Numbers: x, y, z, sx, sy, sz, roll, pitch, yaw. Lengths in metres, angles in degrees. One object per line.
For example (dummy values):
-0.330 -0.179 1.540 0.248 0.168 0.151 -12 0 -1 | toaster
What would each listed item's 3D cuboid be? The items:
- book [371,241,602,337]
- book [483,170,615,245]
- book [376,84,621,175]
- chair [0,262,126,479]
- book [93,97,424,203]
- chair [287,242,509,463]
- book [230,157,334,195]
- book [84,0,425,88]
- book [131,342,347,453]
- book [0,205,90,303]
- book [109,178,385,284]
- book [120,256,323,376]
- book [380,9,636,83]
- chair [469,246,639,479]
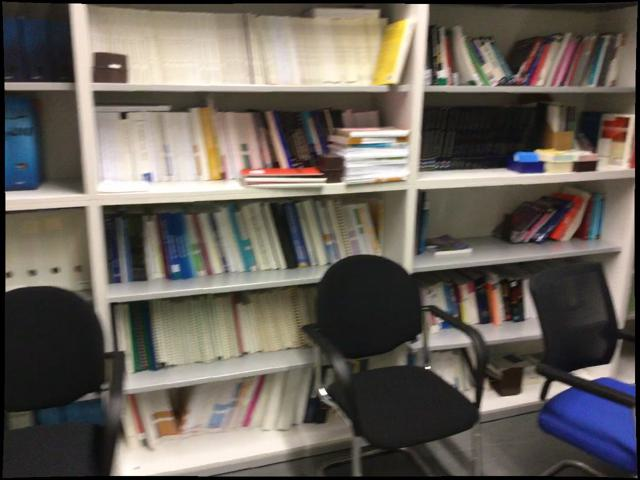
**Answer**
0.819 0.220 2.850 1.099 0.270 0.290 -5 17 -17 | book
1.119 -0.170 2.850 0.510 0.280 0.290 -5 17 -17 | book
0.769 -0.511 2.560 0.939 0.330 0.420 -5 17 -17 | book
-0.889 0.440 1.770 0.520 0.490 0.750 -5 17 -17 | chair
-0.230 -0.380 2.260 1.179 0.310 0.420 -5 17 -17 | book
0.230 0.350 2.120 0.540 0.470 0.690 -5 17 -17 | chair
-0.150 -0.250 2.220 0.350 0.090 0.230 -5 17 -17 | book
-0.240 -0.761 2.180 1.169 0.340 0.430 -5 17 -17 | book
-0.330 0.661 2.480 0.889 0.280 0.160 -5 17 -17 | book
-1.359 0.080 1.930 1.069 0.320 0.060 -5 17 -17 | book
-0.290 -0.060 2.440 1.099 0.300 0.270 -5 17 -17 | book
-0.410 0.300 2.440 0.789 0.320 0.290 -5 17 -17 | book
0.839 -0.851 2.580 1.119 0.280 0.260 -5 17 -17 | book
0.999 0.571 2.000 0.570 0.881 0.670 -11 20 -33 | chair
